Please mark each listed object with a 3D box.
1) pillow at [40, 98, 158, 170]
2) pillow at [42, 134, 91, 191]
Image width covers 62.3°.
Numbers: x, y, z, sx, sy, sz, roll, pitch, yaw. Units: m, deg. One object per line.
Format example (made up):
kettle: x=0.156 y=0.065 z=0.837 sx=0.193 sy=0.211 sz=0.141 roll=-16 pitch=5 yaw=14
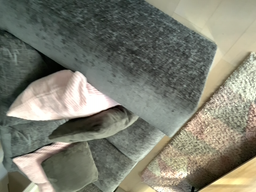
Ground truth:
pillow: x=-0.170 y=0.150 z=1.120 sx=0.490 sy=0.390 sz=0.170 roll=-1 pitch=107 yaw=51
pillow: x=-0.470 y=0.560 z=1.640 sx=0.120 sy=0.330 sz=0.460 roll=23 pitch=114 yaw=60
